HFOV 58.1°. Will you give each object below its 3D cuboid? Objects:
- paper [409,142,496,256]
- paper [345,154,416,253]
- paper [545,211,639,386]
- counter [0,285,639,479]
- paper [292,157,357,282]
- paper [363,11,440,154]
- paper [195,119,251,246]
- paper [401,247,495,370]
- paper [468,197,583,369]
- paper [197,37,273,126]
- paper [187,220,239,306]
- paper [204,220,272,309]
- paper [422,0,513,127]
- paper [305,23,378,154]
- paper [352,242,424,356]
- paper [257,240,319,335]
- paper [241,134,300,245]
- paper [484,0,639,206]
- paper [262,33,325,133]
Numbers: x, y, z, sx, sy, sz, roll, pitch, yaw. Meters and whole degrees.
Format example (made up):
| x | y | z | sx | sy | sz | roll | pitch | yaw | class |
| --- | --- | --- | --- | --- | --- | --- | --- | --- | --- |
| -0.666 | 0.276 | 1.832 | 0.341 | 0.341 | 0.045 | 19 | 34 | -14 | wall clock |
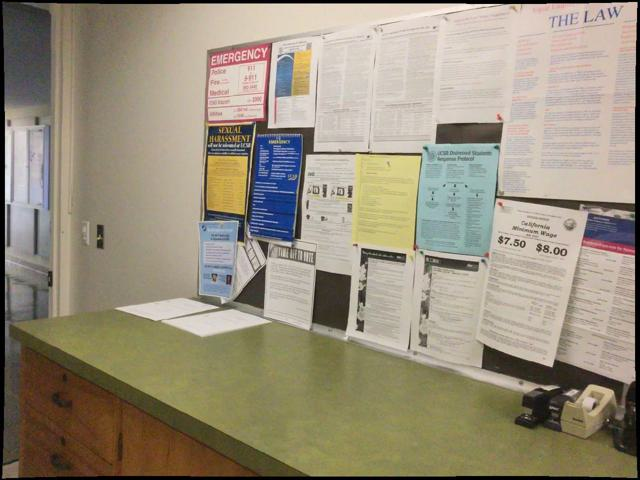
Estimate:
| x | y | z | sx | sy | sz | roll | pitch | yaw | class |
| --- | --- | --- | --- | --- | --- | --- | --- | --- | --- |
| 0.339 | -0.110 | 1.500 | 0.220 | 0.281 | 0.030 | 7 | 8 | 41 | paper |
| 0.170 | -0.110 | 1.660 | 0.210 | 0.271 | 0.040 | 7 | 8 | 41 | paper |
| 0.628 | 0.120 | 1.250 | 0.240 | 0.351 | 0.050 | 7 | 8 | 41 | paper |
| 0.928 | 0.471 | 0.560 | 4.523 | 0.140 | 0.699 | 7 | 8 | 41 | counter |
| 0.010 | -0.070 | 1.790 | 0.220 | 0.371 | 0.040 | 7 | 8 | 41 | paper |
| 0.219 | -0.421 | 1.590 | 0.210 | 0.361 | 0.040 | 7 | 8 | 41 | paper |
| -0.359 | -0.211 | 2.110 | 0.270 | 0.441 | 0.040 | 7 | 8 | 41 | paper |
| 0.329 | 0.170 | 1.510 | 0.240 | 0.281 | 0.040 | 7 | 8 | 41 | paper |
| 0.479 | 0.090 | 1.360 | 0.230 | 0.371 | 0.060 | 7 | 8 | 41 | paper |
| -0.309 | -0.551 | 2.050 | 0.349 | 0.271 | 0.050 | 7 | 8 | 41 | paper |
| -0.399 | 0.080 | 2.140 | 0.230 | 0.291 | 0.060 | 7 | 8 | 41 | paper |
| -0.299 | 0.090 | 2.060 | 0.040 | 0.300 | 0.160 | -6 | 54 | -49 | paper |
| 0.369 | -0.441 | 1.460 | 0.210 | 0.291 | 0.050 | 7 | 8 | 41 | paper |
| 0.060 | -0.441 | 1.730 | 0.230 | 0.361 | 0.050 | 7 | 8 | 41 | paper |
| 0.190 | 0.160 | 1.640 | 0.210 | 0.291 | 0.040 | 7 | 8 | 41 | paper |
| -0.110 | 0.150 | 1.900 | 0.230 | 0.281 | 0.050 | 7 | 8 | 41 | paper |
| -0.170 | -0.170 | 1.930 | 0.230 | 0.351 | 0.050 | 7 | 8 | 41 | paper |
| 0.559 | -0.321 | 1.300 | 0.349 | 0.471 | 0.050 | 7 | 8 | 41 | paper |
| -0.090 | -0.501 | 1.870 | 0.230 | 0.291 | 0.050 | 7 | 8 | 41 | paper |
